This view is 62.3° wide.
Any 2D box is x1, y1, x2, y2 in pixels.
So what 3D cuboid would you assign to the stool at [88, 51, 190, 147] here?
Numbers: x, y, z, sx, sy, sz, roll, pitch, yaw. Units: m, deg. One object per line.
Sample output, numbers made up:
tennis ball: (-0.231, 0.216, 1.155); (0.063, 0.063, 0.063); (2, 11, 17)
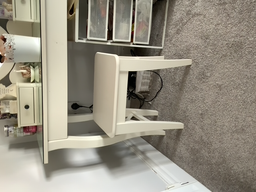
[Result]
stool: (0.040, -0.010, 1.200); (0.320, 0.420, 0.420); (32, 120, 56)
